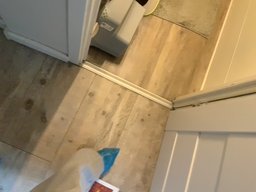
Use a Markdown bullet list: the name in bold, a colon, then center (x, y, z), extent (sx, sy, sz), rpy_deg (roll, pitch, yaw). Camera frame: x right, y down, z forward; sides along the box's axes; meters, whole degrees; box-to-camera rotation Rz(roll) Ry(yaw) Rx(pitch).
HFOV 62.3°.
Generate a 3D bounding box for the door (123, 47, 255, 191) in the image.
- **door**: center (0.520, 0.120, 0.180), extent (0.140, 2.600, 0.810), rpy_deg (28, 75, -10)
